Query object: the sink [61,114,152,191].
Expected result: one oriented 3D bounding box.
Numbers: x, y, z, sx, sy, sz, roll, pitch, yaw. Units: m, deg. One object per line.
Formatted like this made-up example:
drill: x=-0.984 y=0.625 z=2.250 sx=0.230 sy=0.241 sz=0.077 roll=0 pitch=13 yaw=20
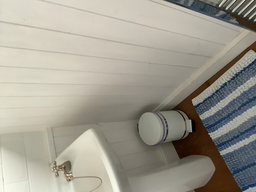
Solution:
sink: x=-0.100 y=0.420 z=0.930 sx=0.390 sy=0.180 sz=0.550 roll=-50 pitch=52 yaw=42
